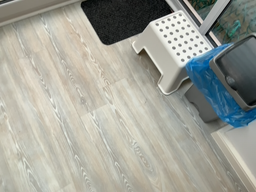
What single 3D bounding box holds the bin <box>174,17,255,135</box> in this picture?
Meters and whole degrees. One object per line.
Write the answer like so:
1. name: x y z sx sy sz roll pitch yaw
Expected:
1. bin: 0.560 -0.080 1.130 0.330 0.450 0.380 -27 76 -17
